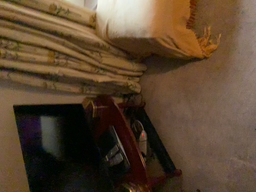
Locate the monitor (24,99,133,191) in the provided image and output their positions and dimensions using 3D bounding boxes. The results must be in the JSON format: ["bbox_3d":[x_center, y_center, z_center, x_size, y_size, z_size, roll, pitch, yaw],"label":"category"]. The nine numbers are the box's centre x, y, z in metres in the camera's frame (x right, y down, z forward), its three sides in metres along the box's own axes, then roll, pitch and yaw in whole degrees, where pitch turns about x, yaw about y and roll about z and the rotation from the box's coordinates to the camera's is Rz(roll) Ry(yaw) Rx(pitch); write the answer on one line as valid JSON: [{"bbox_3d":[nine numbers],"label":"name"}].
[{"bbox_3d":[-0.360,0.380,1.520,0.060,0.560,0.860,-52,53,36],"label":"monitor"}]

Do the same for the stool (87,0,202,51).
[{"bbox_3d":[0.110,-0.750,1.650,0.760,0.470,0.720,14,100,47],"label":"stool"}]
